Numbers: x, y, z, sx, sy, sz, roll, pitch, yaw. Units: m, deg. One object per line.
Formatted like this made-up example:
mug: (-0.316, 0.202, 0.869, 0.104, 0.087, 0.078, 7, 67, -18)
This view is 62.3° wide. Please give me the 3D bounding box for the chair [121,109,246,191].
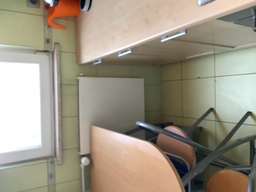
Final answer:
chair: (0.370, 0.320, 1.380, 0.370, 0.740, 0.400, 0, 92, 59)
